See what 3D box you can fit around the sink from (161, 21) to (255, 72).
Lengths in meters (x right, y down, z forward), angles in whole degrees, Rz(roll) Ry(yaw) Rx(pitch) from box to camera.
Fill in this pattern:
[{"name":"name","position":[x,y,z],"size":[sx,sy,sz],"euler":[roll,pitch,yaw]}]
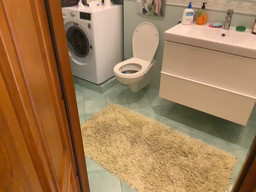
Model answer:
[{"name":"sink","position":[0.770,-0.430,1.740],"size":[0.860,0.140,0.480],"euler":[21,38,27]}]
